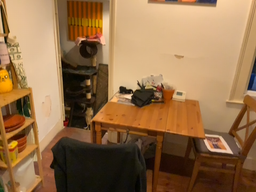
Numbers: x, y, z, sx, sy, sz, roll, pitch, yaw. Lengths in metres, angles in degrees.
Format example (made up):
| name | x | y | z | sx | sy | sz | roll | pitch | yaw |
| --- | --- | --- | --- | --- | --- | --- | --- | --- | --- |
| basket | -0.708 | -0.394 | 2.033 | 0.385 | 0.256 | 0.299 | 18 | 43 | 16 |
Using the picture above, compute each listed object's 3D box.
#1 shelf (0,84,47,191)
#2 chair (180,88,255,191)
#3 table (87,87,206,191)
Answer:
| name | x | y | z | sx | sy | sz | roll | pitch | yaw |
| --- | --- | --- | --- | --- | --- | --- | --- | --- | --- |
| shelf | -0.930 | 0.430 | 1.740 | 0.260 | 0.970 | 0.350 | 7 | 22 | 11 |
| chair | 0.870 | 0.440 | 2.050 | 0.550 | 0.890 | 0.480 | 5 | 22 | 6 |
| table | 0.190 | 0.440 | 2.130 | 0.940 | 0.750 | 0.760 | 8 | 22 | 12 |
